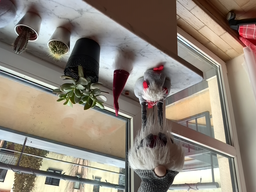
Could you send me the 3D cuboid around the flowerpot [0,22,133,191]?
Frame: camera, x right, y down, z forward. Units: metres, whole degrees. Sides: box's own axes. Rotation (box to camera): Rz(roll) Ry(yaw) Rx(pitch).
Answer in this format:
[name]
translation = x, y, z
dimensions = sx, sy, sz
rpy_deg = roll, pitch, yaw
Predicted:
[flowerpot]
translation = -0.290, 0.110, 0.800
dimensions = 0.410, 0.440, 0.430
rpy_deg = 23, 147, -29
